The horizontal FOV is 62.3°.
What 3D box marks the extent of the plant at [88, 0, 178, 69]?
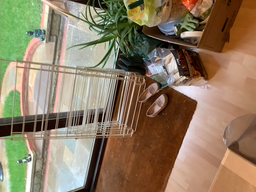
[{"bbox_3d":[0.020,-0.500,1.640,0.450,0.420,0.450,33,117,42],"label":"plant"}]
